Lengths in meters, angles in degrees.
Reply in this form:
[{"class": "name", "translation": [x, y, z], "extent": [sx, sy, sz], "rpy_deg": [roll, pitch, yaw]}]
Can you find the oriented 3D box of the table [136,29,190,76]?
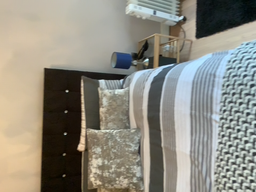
[{"class": "table", "translation": [0.360, -0.430, 2.240], "extent": [0.380, 0.410, 0.380], "rpy_deg": [0, 88, 63]}]
